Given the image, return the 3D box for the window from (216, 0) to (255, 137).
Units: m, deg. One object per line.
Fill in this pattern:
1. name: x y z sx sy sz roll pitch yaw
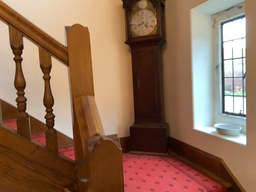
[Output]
1. window: 1.070 -0.270 1.970 0.100 1.230 0.580 -4 5 -18
